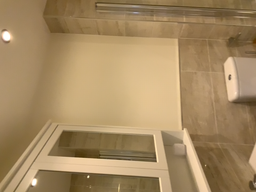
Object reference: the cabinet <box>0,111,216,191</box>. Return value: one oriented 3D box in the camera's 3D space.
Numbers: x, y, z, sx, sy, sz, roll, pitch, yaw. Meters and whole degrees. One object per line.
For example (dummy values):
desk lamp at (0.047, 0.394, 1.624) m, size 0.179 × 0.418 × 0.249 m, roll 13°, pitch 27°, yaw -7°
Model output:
cabinet at (-0.100, 0.390, 1.190) m, size 0.850 × 1.010 × 0.160 m, roll -85°, pitch -2°, yaw -66°
